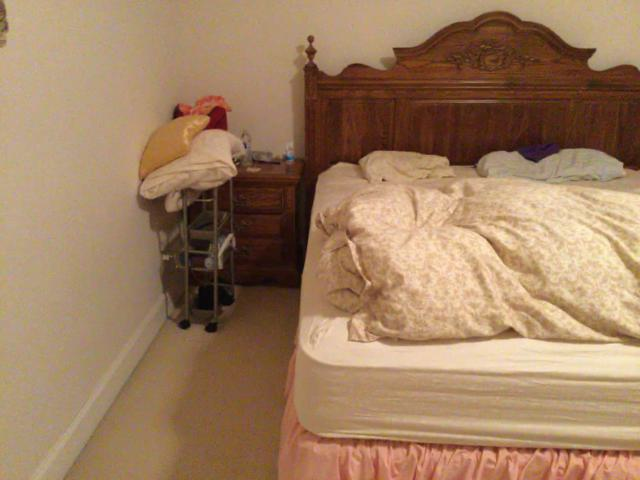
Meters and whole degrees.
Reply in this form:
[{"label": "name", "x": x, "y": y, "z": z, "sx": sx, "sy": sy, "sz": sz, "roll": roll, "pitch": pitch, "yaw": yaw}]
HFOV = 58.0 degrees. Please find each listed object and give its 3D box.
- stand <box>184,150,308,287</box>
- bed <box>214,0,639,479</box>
[{"label": "stand", "x": -0.380, "y": -0.130, "z": 3.200, "sx": 0.540, "sy": 0.630, "sz": 0.410, "roll": -5, "pitch": 16, "yaw": 4}, {"label": "bed", "x": 0.870, "y": -0.170, "z": 2.270, "sx": 1.960, "sy": 1.680, "sz": 2.270, "roll": -3, "pitch": 14, "yaw": 3}]
